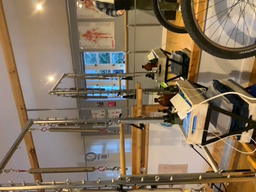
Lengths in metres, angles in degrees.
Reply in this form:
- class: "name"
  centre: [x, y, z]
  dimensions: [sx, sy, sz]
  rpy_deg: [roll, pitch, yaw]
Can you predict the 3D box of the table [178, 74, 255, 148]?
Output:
- class: "table"
  centre: [0.760, 0.070, 1.450]
  dimensions: [0.490, 0.680, 0.300]
  rpy_deg: [-98, 7, -67]
